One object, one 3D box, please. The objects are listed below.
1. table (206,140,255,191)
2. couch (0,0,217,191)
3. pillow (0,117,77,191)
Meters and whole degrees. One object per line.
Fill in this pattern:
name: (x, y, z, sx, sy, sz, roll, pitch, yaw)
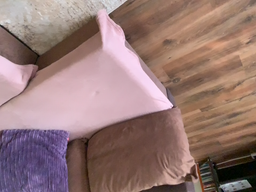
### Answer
table: (1.230, 1.000, 2.060, 0.620, 1.040, 0.230, -24, 134, 24)
couch: (-0.010, 0.110, 1.170, 0.550, 0.750, 0.890, -24, 134, 25)
pillow: (-0.600, 0.420, 1.300, 0.390, 0.360, 0.340, -25, 134, 26)
